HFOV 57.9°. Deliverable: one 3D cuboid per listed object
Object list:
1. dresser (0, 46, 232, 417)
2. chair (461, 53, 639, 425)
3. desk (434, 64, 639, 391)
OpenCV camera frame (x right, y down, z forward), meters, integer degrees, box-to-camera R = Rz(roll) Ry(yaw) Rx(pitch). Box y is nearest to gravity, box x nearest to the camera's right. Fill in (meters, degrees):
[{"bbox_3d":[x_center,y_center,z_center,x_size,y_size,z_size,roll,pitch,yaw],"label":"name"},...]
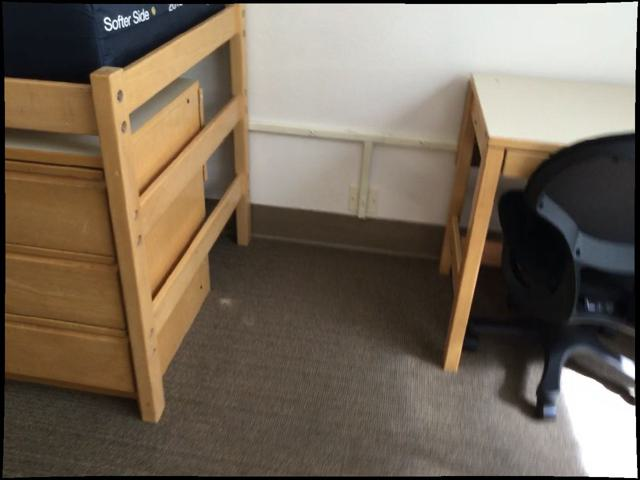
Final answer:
[{"bbox_3d":[-0.769,-0.070,1.700,0.829,0.771,0.680,7,32,6],"label":"dresser"},{"bbox_3d":[0.759,-0.020,1.670,0.519,0.831,0.620,7,32,6],"label":"chair"},{"bbox_3d":[1.079,-0.030,1.800,1.319,0.741,0.670,7,32,6],"label":"desk"}]
